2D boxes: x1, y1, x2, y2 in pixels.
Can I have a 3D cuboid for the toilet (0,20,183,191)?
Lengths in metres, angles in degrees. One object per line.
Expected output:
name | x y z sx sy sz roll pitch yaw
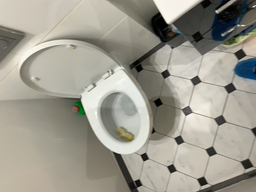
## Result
toilet | -0.100 0.060 1.110 0.380 0.860 0.520 -34 77 22
